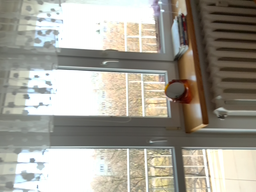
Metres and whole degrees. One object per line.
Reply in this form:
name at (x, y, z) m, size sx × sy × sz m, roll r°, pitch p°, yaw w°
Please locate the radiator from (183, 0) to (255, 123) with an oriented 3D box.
radiator at (0.850, -0.710, 1.750) m, size 0.220 × 0.710 × 1.840 m, roll 113°, pitch 157°, yaw -71°
